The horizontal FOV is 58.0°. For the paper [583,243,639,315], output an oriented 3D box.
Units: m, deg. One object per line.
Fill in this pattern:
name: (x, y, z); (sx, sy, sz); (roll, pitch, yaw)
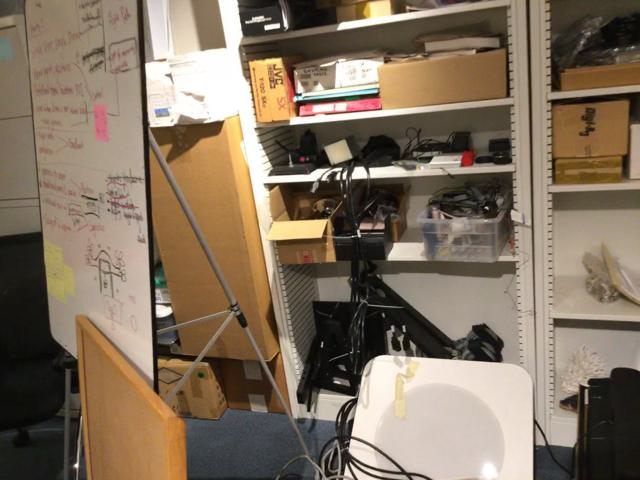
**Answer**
paper: (1.020, 0.120, 1.890); (0.270, 0.130, 0.320); (-1, 17, 20)
